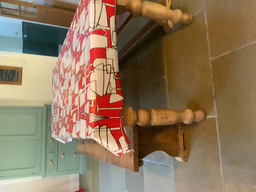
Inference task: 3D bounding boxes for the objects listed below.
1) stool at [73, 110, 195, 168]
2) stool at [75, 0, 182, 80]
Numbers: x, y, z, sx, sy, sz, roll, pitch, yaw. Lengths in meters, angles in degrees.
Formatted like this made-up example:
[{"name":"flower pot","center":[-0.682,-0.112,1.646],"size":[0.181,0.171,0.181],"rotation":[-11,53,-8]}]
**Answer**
[{"name":"stool","center":[-0.110,0.380,2.000],"size":[1.500,0.490,0.330],"rotation":[-21,70,62]},{"name":"stool","center":[-0.140,-0.520,2.130],"size":[1.460,0.470,0.360],"rotation":[159,111,-62]}]
